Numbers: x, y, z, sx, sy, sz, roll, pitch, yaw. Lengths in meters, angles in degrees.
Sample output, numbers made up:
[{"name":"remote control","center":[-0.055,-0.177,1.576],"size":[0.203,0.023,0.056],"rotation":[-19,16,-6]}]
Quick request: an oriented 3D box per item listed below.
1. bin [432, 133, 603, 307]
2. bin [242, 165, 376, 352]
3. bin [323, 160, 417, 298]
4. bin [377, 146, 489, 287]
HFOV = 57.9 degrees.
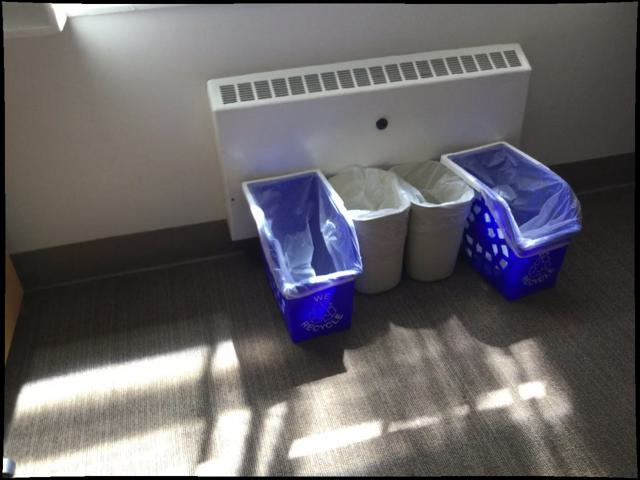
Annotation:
[{"name":"bin","center":[0.599,-0.080,1.860],"size":[0.300,0.330,0.440],"rotation":[-11,37,-10]},{"name":"bin","center":[-0.040,0.040,1.740],"size":[0.290,0.330,0.420],"rotation":[-11,37,-10]},{"name":"bin","center":[0.150,-0.040,1.840],"size":[0.210,0.310,0.270],"rotation":[-11,37,-10]},{"name":"bin","center":[0.350,-0.080,1.880],"size":[0.250,0.330,0.270],"rotation":[-11,37,-10]}]
